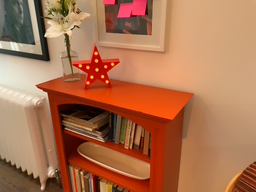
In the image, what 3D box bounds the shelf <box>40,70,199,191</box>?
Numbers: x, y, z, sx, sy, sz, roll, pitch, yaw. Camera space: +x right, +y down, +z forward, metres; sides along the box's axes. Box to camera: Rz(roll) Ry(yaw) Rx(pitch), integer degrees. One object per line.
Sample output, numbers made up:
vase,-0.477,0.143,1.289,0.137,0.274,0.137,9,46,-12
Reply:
shelf,-0.060,0.410,1.280,0.760,0.980,0.330,12,26,28
